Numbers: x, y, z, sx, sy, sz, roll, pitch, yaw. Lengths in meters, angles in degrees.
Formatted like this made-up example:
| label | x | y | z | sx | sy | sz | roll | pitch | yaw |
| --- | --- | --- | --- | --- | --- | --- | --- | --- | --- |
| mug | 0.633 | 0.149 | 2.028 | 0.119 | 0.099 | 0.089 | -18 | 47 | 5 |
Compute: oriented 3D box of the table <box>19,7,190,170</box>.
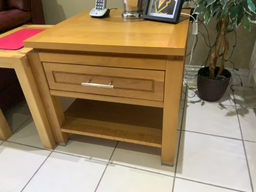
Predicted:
| label | x | y | z | sx | sy | sz | roll | pitch | yaw |
| --- | --- | --- | --- | --- | --- | --- | --- | --- | --- |
| table | -0.020 | -0.110 | 1.120 | 0.590 | 0.550 | 0.650 | 7 | 34 | 14 |

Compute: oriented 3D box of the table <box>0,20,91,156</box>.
| label | x | y | z | sx | sy | sz | roll | pitch | yaw |
| --- | --- | --- | --- | --- | --- | --- | --- | --- | --- |
| table | -0.500 | -0.080 | 1.150 | 0.340 | 0.510 | 0.520 | 7 | 34 | 14 |
